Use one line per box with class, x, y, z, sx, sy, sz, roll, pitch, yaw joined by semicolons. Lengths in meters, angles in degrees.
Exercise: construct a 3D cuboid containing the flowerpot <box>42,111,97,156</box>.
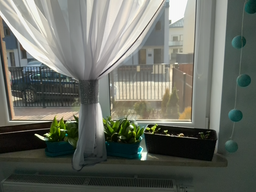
flowerpot;-0.340;0.220;1.300;0.250;0.190;0.260;0;12;1
